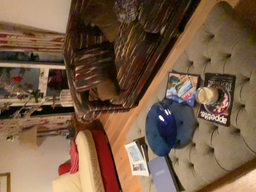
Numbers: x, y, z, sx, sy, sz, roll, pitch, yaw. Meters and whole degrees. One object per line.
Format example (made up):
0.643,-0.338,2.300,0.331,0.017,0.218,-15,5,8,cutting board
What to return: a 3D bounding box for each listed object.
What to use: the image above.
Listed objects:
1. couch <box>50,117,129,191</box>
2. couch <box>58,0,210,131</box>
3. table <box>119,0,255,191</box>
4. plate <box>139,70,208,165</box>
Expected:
-0.360,2.070,2.790,1.100,0.790,3.550,-62,40,43,couch
-0.040,-0.910,2.040,2.580,0.780,1.180,-63,39,42,couch
0.460,0.230,1.660,1.630,0.320,0.870,-61,41,44,table
0.290,0.170,1.590,0.520,0.060,0.500,-61,40,43,plate
